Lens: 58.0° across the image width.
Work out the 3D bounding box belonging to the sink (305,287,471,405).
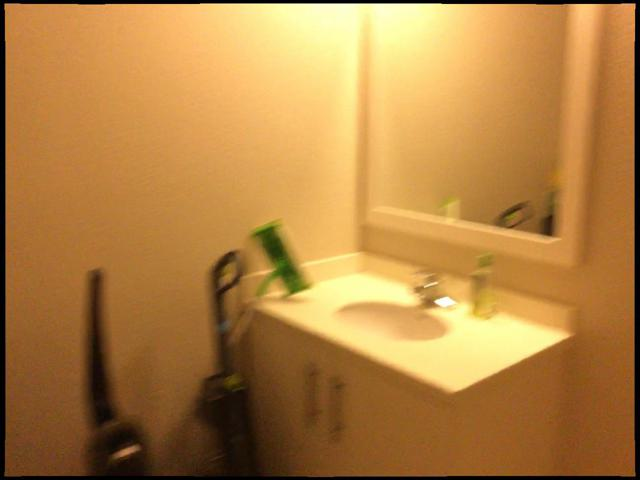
[{"bbox_3d":[0.200,0.301,1.760,0.320,0.150,0.380,-12,20,-40],"label":"sink"}]

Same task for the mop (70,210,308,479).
[{"bbox_3d":[-0.489,0.541,1.790,0.230,1.361,0.120,40,-16,-36],"label":"mop"}]
